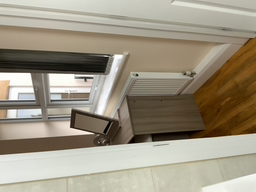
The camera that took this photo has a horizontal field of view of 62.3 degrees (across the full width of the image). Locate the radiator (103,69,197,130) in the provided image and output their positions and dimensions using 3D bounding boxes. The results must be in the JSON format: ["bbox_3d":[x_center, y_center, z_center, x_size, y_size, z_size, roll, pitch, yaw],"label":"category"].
[{"bbox_3d":[0.160,0.100,2.340,1.160,0.670,0.060,117,147,-54],"label":"radiator"}]
